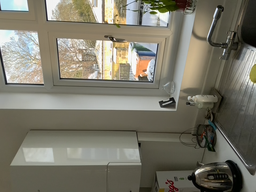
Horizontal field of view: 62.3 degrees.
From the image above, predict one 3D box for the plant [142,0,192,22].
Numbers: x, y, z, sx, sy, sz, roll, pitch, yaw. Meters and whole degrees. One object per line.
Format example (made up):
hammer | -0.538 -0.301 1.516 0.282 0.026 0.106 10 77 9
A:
plant | 0.230 -0.570 1.300 0.220 0.240 0.170 -99 13 -60
